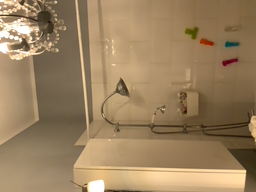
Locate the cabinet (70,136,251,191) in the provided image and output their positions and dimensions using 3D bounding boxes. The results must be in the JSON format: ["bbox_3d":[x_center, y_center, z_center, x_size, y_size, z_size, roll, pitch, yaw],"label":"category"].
[{"bbox_3d":[0.180,0.420,1.390,0.410,1.000,0.140,-73,-17,-78],"label":"cabinet"}]
